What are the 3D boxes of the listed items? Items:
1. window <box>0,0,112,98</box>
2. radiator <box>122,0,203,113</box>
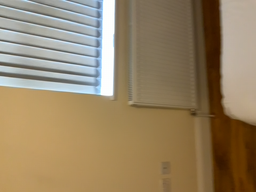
[{"bbox_3d":[-0.690,-0.580,1.340,0.070,1.260,1.080,-20,67,59],"label":"window"},{"bbox_3d":[0.300,-0.520,1.690,0.080,0.700,1.250,-16,70,60],"label":"radiator"}]
